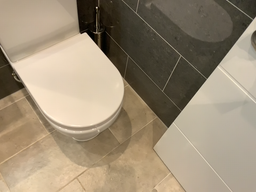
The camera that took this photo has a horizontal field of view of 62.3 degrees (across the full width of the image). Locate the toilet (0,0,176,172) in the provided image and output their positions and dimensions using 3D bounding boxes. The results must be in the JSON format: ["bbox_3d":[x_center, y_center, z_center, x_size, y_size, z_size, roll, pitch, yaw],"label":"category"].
[{"bbox_3d":[-0.270,-0.110,0.970,0.410,0.810,0.620,-34,71,-24],"label":"toilet"}]
